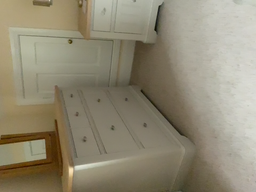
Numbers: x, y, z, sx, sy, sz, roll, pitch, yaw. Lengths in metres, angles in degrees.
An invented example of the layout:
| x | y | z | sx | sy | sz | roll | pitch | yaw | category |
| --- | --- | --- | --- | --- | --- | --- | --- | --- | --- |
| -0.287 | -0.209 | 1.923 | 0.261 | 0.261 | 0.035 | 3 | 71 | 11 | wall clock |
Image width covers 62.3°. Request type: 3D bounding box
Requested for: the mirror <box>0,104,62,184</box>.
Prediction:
| x | y | z | sx | sy | sz | roll | pitch | yaw | category |
| --- | --- | --- | --- | --- | --- | --- | --- | --- | --- |
| -0.960 | 0.370 | 1.850 | 0.740 | 0.660 | 0.220 | -128 | 41 | -54 | mirror |
